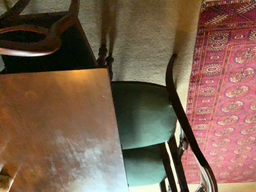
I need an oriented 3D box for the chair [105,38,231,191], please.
[{"bbox_3d":[0.160,0.060,1.190,0.440,0.810,0.420,-1,131,3],"label":"chair"}]
